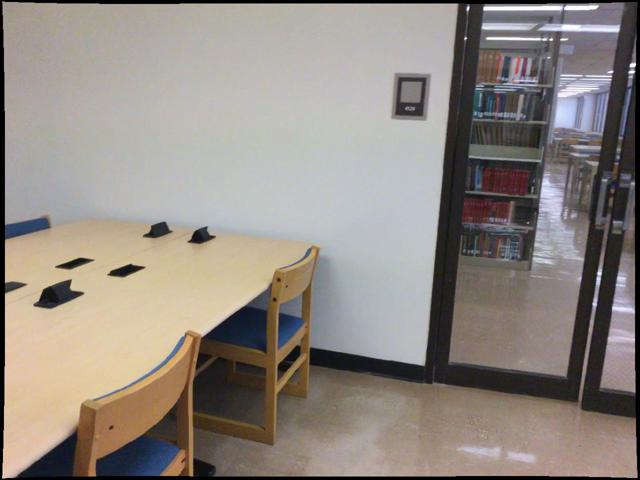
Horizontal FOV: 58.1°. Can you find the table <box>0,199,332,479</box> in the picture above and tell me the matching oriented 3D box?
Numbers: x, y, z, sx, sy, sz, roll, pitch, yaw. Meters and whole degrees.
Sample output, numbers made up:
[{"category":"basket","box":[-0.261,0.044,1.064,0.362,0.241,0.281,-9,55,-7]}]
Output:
[{"category":"table","box":[-1.376,0.732,1.490,1.706,0.812,4.250,6,15,16]}]

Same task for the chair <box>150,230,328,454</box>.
[{"category":"chair","box":[-0.359,0.441,2.810,0.619,0.802,0.650,6,15,16]}]

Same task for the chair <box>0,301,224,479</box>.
[{"category":"chair","box":[-0.698,0.722,1.740,0.569,0.832,0.660,6,15,16]}]

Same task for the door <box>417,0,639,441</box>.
[{"category":"door","box":[1.337,-0.180,2.670,1.536,2.125,0.360,6,11,16]}]
